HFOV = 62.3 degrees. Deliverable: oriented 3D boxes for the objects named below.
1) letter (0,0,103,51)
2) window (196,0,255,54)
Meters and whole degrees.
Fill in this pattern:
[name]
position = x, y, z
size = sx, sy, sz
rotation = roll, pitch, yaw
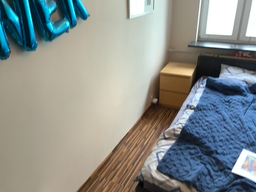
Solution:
[letter]
position = -0.470, -0.460, 1.070
size = 0.090, 0.330, 1.000
rotation = 13, 31, 27
[window]
position = 1.690, -1.250, 2.590
size = 1.490, 1.450, 0.200
rotation = 11, 30, 23
